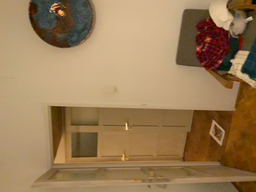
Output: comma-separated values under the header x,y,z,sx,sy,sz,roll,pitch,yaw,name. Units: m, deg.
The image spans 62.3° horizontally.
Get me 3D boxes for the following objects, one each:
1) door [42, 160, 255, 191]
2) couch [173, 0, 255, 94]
x,y,z,sx,sy,sz,roll,pitch,yaw,name
0.270,0.750,2.110,0.840,1.940,0.070,137,134,-78,door
0.890,-0.440,1.670,0.760,0.770,0.620,-109,23,-67,couch
